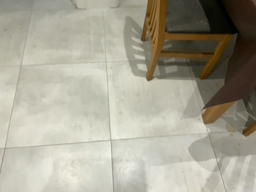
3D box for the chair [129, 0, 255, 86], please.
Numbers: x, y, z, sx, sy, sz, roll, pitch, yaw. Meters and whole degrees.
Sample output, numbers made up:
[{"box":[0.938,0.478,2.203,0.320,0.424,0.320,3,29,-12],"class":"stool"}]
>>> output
[{"box":[0.330,-0.550,1.200,0.530,0.980,0.490,-5,60,-7],"class":"chair"}]
